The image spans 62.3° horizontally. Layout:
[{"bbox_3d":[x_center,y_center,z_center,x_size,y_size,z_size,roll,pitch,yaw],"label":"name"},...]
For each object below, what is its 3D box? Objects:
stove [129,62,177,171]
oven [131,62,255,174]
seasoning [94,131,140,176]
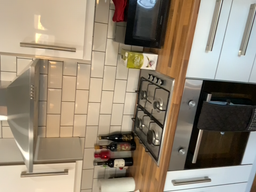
[{"bbox_3d":[0.140,0.100,1.510,0.570,0.020,0.600,-136,51,-66],"label":"stove"},{"bbox_3d":[0.460,0.120,1.610,0.580,0.650,0.620,-136,51,-66],"label":"oven"},{"bbox_3d":[-0.100,0.480,1.790,0.110,0.330,0.350,-135,50,-65],"label":"seasoning"}]
